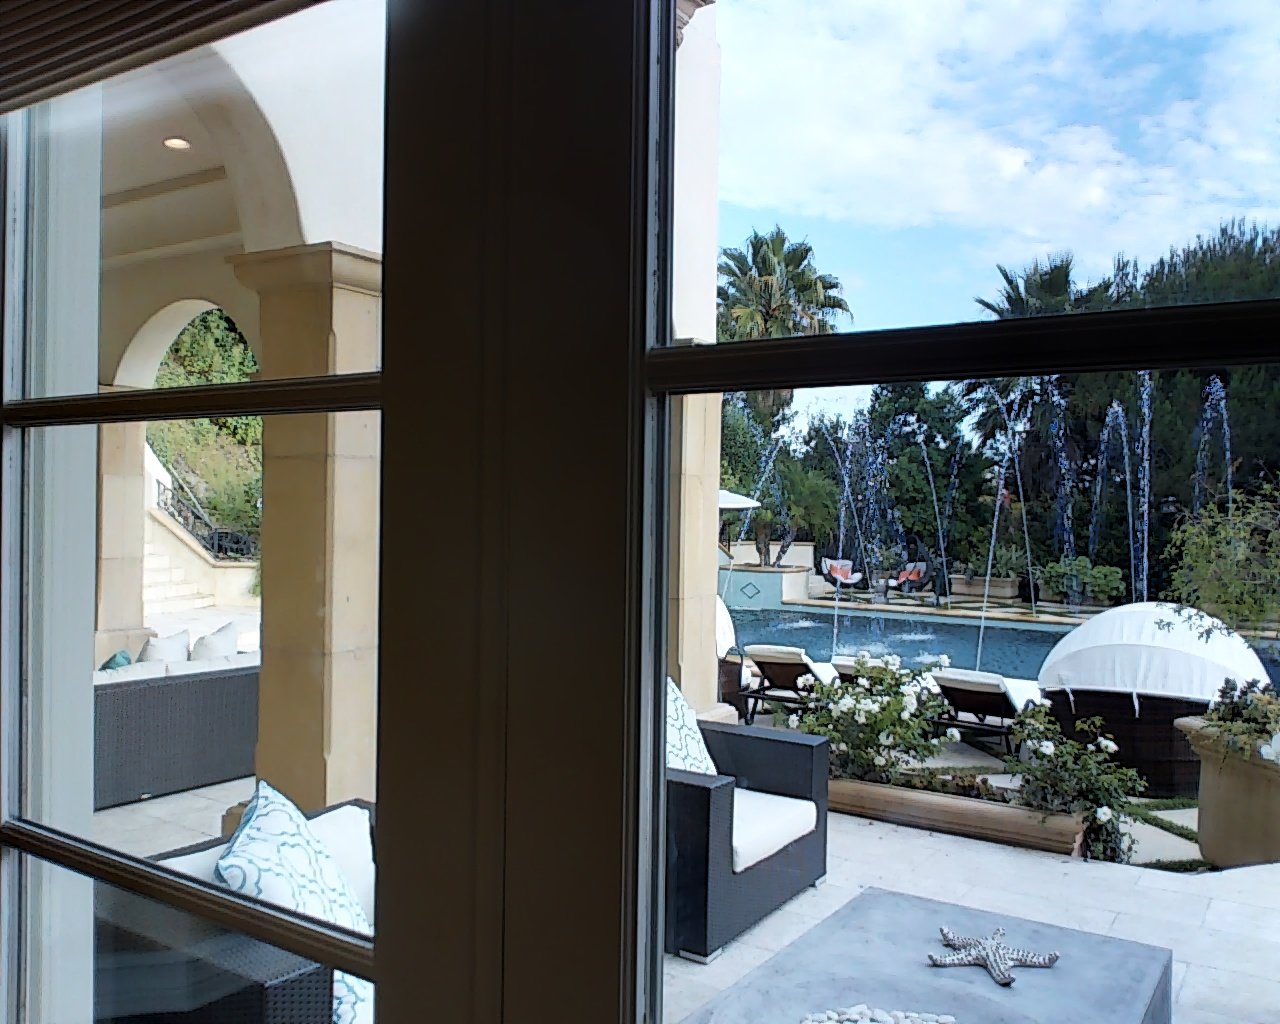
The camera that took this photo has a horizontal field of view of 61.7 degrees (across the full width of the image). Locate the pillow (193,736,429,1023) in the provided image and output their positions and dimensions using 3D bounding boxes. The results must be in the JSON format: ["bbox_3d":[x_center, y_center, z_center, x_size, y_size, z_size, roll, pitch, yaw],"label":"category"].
[{"bbox_3d":[-0.850,1.000,2.830,0.270,0.590,0.570,-30,-25,-22],"label":"pillow"}]
